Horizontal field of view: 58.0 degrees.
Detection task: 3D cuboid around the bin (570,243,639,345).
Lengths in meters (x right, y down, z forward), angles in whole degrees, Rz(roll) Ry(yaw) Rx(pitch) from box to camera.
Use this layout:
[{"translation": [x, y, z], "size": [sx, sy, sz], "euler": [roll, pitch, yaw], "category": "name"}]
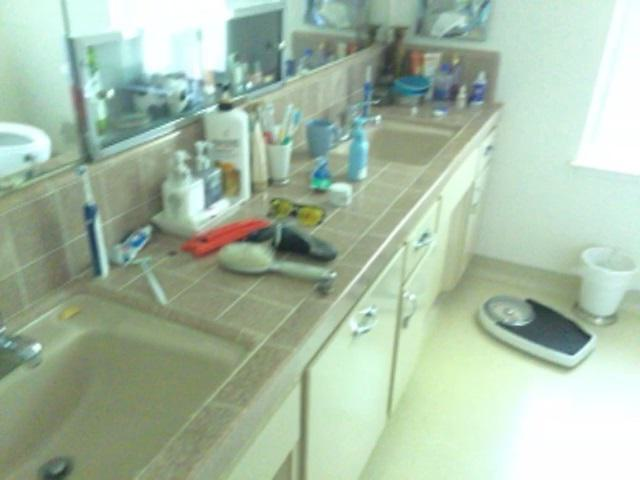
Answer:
[{"translation": [1.130, 0.200, 2.210], "size": [0.250, 0.250, 0.240], "euler": [14, 30, 27], "category": "bin"}]
